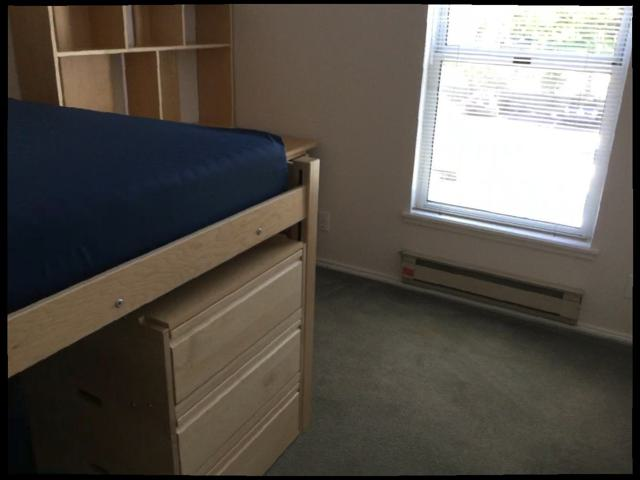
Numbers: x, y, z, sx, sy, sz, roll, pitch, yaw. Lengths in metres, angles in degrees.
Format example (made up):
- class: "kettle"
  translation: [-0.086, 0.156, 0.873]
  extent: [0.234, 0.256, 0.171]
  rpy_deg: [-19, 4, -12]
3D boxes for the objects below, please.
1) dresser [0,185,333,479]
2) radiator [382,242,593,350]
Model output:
- class: "dresser"
  translation: [-0.519, 0.361, 1.920]
  extent: [0.779, 0.781, 0.850]
  rpy_deg: [14, 25, 26]
- class: "radiator"
  translation: [0.828, 0.271, 3.000]
  extent: [1.029, 0.280, 0.120]
  rpy_deg: [14, 25, 26]
